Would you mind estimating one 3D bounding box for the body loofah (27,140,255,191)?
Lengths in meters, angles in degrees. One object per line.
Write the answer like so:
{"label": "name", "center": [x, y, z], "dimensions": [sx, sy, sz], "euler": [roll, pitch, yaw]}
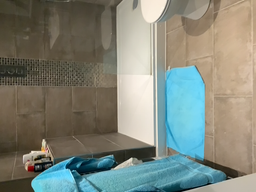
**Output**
{"label": "body loofah", "center": [0.030, 0.510, 1.280], "dimensions": [0.940, 1.140, 0.200], "euler": [2, 92, 64]}
